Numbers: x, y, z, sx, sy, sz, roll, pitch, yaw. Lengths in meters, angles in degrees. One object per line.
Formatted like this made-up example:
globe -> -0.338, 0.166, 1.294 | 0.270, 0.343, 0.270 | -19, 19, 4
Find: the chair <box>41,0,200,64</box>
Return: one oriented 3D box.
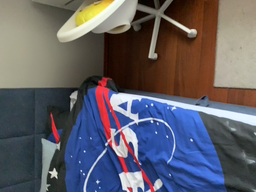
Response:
chair -> -0.040, -0.550, 1.350 | 0.600, 0.800, 0.620 | 12, 102, 49
